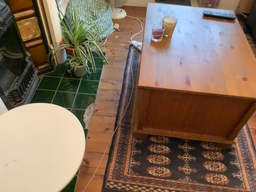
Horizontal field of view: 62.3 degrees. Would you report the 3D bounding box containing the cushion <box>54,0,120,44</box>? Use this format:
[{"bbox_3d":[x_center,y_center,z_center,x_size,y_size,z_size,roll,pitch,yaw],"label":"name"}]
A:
[{"bbox_3d":[-0.390,-0.850,2.220,0.480,0.240,0.590,12,48,6],"label":"cushion"}]

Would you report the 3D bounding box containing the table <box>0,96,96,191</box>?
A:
[{"bbox_3d":[-0.410,0.330,1.030,0.420,0.480,0.420,4,48,-1],"label":"table"}]

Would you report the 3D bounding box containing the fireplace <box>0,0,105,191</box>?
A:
[{"bbox_3d":[-0.540,-0.300,1.190,0.630,1.070,1.370,4,48,-1],"label":"fireplace"}]
